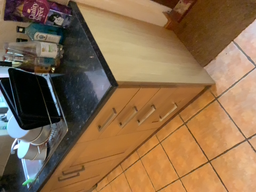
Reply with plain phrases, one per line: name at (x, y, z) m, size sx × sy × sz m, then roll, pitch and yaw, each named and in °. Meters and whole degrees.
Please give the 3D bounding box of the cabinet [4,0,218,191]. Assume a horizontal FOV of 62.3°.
cabinet at (-0.360, 0.300, 1.880) m, size 1.960 × 0.910 × 0.610 m, roll -49°, pitch 57°, yaw 37°
